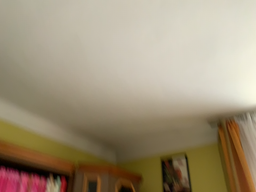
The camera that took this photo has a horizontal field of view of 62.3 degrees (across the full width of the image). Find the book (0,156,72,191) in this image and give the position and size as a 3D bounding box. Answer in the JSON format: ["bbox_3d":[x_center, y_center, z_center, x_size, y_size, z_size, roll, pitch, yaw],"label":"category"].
[{"bbox_3d":[-0.840,0.600,1.470,0.330,0.220,0.860,-21,-39,28],"label":"book"}]
